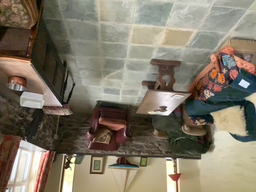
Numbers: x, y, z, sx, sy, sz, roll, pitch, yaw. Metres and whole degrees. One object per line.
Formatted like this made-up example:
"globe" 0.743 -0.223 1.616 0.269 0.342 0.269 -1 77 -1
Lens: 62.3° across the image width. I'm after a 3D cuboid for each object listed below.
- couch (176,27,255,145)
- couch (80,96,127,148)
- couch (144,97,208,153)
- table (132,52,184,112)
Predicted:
"couch" 1.290 0.040 2.540 0.970 0.860 1.450 3 160 -4
"couch" -0.500 0.550 4.200 0.690 0.800 0.840 8 159 -18
"couch" 0.940 0.640 4.230 0.820 0.860 0.970 -16 153 40
"table" 0.340 -0.130 2.740 0.470 0.450 0.830 3 160 -4
